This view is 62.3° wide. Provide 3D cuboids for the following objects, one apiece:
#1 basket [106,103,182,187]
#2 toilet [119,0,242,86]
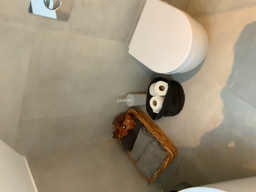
[{"bbox_3d":[0.110,0.390,1.800,0.540,0.250,0.370,51,127,32],"label":"basket"},{"bbox_3d":[0.320,-0.350,1.360,0.490,0.470,0.360,45,124,36],"label":"toilet"}]
